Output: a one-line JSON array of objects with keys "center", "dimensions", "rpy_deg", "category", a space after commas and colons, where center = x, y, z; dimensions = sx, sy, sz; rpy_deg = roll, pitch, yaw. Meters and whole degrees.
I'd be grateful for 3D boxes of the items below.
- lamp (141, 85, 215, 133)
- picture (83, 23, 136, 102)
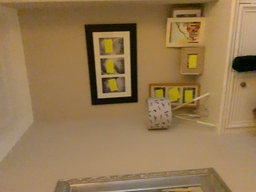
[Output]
[{"center": [0.460, 0.110, 2.110], "dimensions": [0.420, 0.600, 0.290], "rpy_deg": [-109, 16, -69], "category": "lamp"}, {"center": [-0.170, -0.330, 2.180], "dimensions": [0.020, 0.500, 0.780], "rpy_deg": [-113, 21, -74], "category": "picture"}]
